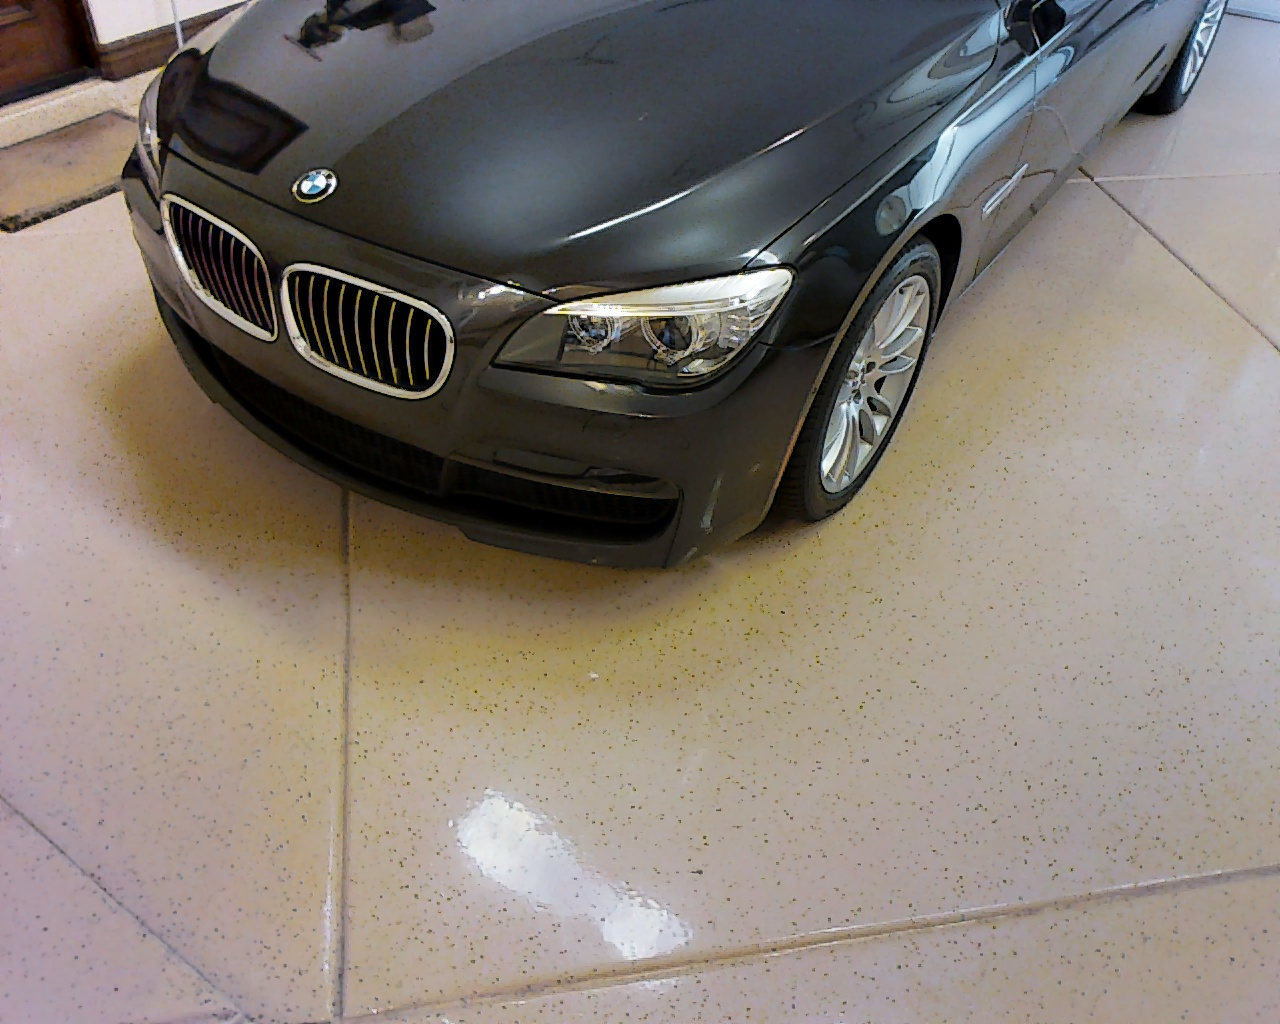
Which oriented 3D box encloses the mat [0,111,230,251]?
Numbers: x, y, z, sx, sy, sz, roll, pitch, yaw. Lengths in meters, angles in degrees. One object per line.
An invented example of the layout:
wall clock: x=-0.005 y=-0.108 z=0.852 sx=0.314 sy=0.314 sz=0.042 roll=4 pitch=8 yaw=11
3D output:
mat: x=-2.020 y=-1.210 z=3.840 sx=0.640 sy=0.050 sz=0.820 roll=26 pitch=47 yaw=24
